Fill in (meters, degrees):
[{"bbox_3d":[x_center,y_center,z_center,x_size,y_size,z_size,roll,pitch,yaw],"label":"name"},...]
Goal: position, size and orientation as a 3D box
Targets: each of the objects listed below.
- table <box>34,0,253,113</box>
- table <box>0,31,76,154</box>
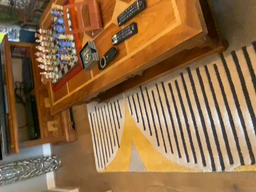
[{"bbox_3d":[-0.100,-0.430,1.310,1.260,0.470,0.800,-22,75,47],"label":"table"},{"bbox_3d":[-1.150,0.020,2.430,0.830,0.630,1.120,-24,73,47],"label":"table"}]
